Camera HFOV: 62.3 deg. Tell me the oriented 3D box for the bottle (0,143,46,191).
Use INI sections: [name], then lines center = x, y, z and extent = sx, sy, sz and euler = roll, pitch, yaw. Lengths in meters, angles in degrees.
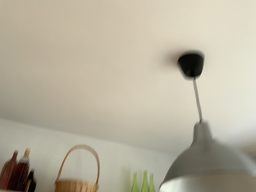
[bottle]
center = -0.830, 0.570, 1.600
extent = 0.310, 0.320, 0.210
euler = 15, -37, -17
